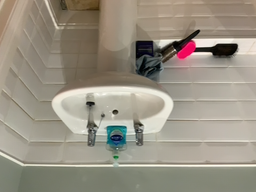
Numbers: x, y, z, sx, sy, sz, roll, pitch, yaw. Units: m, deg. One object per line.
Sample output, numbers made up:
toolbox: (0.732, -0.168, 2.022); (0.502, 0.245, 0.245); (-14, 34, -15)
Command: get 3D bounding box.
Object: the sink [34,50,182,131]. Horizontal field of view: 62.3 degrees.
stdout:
sink: (-0.060, 0.000, 0.850); (0.460, 0.160, 0.350); (-1, 150, 0)
